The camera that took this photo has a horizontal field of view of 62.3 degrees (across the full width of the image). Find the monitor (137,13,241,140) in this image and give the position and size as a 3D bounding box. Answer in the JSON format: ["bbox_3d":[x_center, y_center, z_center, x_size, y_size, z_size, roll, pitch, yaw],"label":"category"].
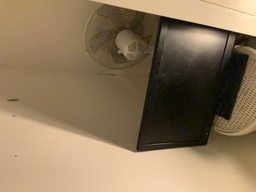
[{"bbox_3d":[0.250,-0.050,0.870,0.030,0.370,0.480,-141,57,-59],"label":"monitor"}]
